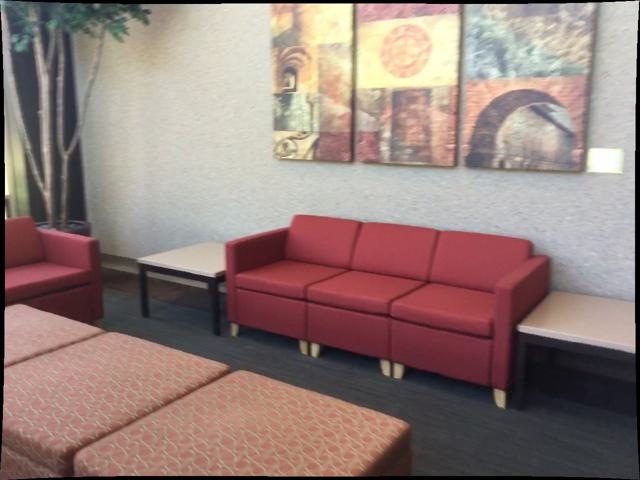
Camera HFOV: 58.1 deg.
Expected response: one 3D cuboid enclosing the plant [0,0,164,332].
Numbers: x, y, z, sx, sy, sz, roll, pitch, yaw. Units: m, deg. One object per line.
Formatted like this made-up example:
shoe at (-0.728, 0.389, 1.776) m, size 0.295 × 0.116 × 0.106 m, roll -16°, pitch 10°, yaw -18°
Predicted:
plant at (-2.117, -0.881, 4.450) m, size 1.538 × 2.714 × 0.960 m, roll 9°, pitch 13°, yaw 32°
